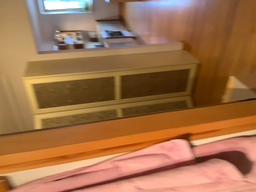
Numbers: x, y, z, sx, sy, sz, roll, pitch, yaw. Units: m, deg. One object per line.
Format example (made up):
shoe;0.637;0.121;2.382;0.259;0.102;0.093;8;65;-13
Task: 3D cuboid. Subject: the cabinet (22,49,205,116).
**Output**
cabinet;-0.130;-0.230;2.880;0.450;2.250;0.520;-115;21;-56
